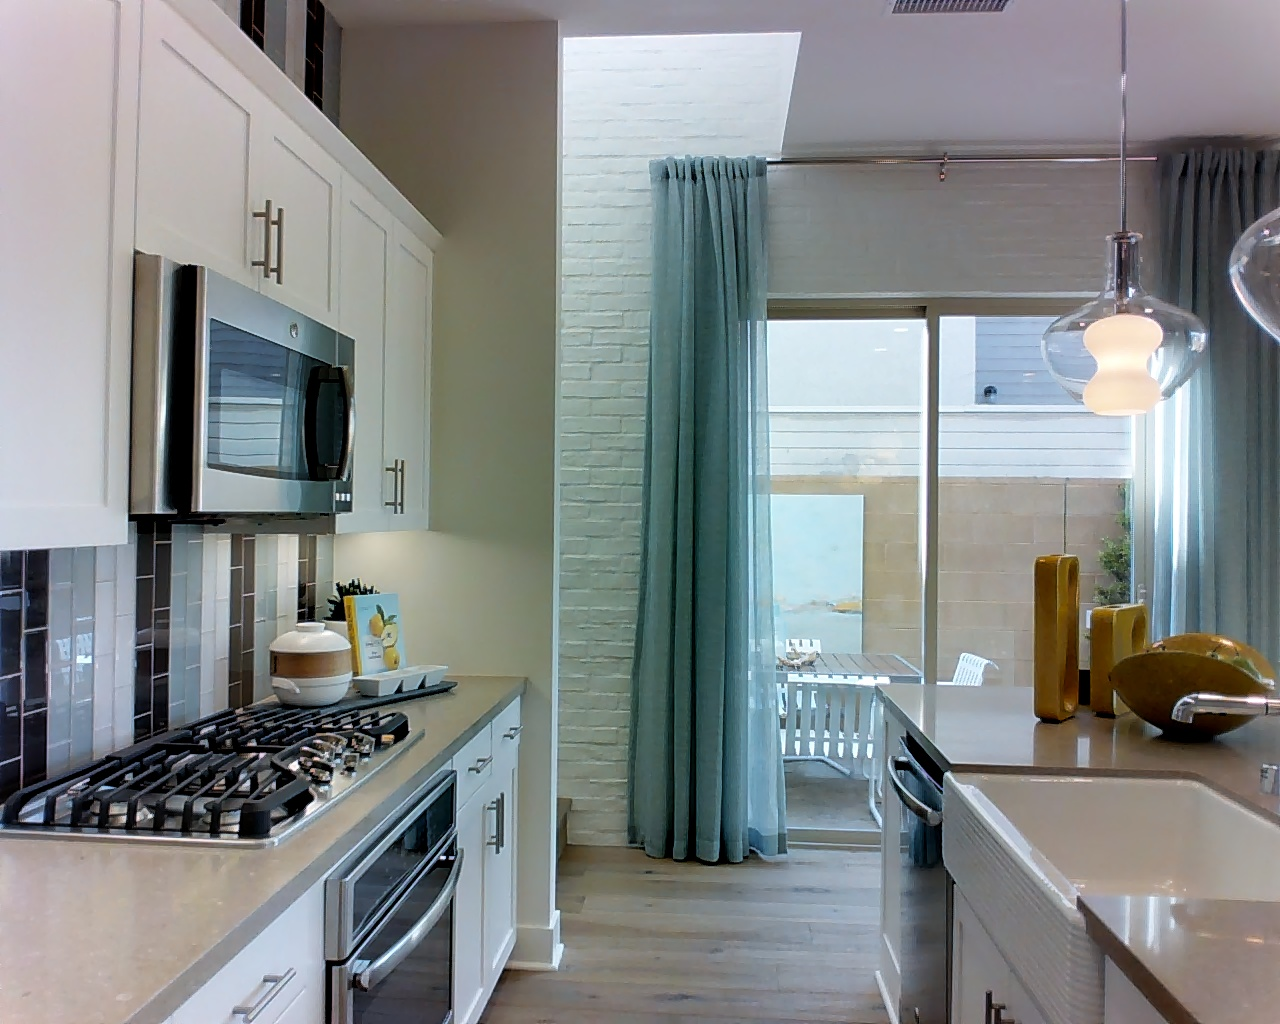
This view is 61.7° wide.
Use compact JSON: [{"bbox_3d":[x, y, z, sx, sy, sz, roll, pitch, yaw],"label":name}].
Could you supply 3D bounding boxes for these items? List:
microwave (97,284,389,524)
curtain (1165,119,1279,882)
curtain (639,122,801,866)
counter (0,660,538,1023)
[{"bbox_3d":[-0.740,-0.180,2.130,0.260,0.390,0.740,0,1,4],"label":"microwave"},{"bbox_3d":[2.529,-0.040,4.380,0.630,3.021,0.270,0,1,4],"label":"curtain"},{"bbox_3d":[0.340,-0.070,4.580,0.660,3.071,0.260,0,1,4],"label":"curtain"},{"bbox_3d":[-0.750,0.520,2.160,0.660,0.050,2.650,0,1,4],"label":"counter"}]
